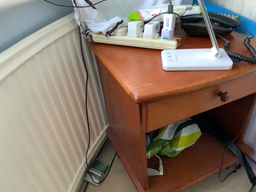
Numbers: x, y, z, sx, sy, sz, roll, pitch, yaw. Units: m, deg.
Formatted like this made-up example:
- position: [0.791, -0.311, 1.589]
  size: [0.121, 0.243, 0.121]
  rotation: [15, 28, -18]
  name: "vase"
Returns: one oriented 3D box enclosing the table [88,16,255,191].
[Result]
- position: [0.190, 0.080, 0.860]
  size: [0.510, 0.620, 0.400]
  rotation: [-18, 37, -19]
  name: "table"
